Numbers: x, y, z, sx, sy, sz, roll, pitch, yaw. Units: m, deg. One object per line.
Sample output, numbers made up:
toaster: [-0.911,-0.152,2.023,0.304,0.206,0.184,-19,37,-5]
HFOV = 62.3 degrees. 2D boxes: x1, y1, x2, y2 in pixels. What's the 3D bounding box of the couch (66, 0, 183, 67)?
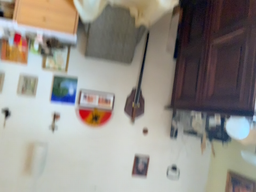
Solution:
couch: [-0.060,-0.880,2.110,0.920,0.920,0.770,8,178,-14]
